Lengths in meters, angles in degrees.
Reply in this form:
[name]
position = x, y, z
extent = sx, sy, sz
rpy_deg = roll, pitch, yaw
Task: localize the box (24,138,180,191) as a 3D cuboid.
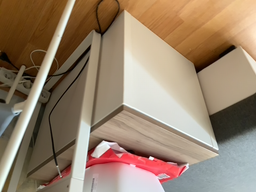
[box]
position = -0.120, 0.370, 0.760
extent = 0.350, 0.170, 0.490
rpy_deg = 29, 133, -31
